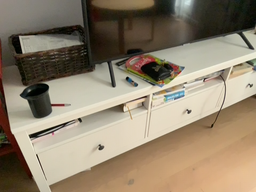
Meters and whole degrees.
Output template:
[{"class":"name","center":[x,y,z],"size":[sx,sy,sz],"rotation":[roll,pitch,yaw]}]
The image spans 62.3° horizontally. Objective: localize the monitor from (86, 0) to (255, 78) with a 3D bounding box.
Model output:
[{"class":"monitor","center":[0.350,-0.520,1.010],"size":[1.130,0.700,0.050],"rotation":[-17,42,-22]}]
